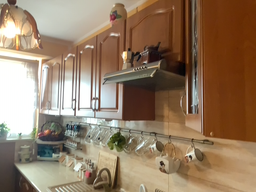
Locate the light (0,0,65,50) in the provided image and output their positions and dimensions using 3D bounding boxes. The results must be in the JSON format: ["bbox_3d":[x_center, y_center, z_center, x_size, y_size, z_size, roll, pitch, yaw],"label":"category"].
[{"bbox_3d":[-0.690,-0.650,1.280,0.450,0.410,0.630,-3,-90,-35],"label":"light"}]
